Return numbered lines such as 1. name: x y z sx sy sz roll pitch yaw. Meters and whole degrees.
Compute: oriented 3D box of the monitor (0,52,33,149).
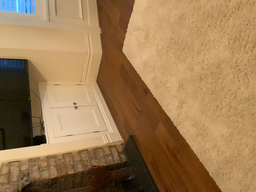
1. monitor: -1.390 0.010 2.250 0.060 0.620 1.110 -45 53 54
